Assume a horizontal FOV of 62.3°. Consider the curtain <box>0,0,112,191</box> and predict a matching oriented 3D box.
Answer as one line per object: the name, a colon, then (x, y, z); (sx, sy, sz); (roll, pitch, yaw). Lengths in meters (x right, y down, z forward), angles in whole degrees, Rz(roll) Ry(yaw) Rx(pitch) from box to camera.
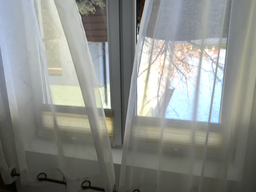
curtain: (-0.490, -0.520, 1.080); (0.700, 2.840, 0.260); (3, -164, 12)
